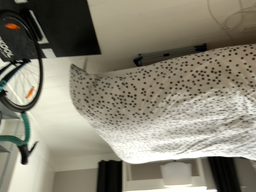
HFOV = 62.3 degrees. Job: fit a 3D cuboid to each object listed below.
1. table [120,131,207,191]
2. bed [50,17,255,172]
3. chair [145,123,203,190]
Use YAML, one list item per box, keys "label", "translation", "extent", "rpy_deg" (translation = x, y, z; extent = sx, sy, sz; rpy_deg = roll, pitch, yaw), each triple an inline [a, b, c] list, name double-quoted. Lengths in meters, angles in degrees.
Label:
- label: "table"
  translation: [0.540, 1.100, 3.490]
  extent: [1.250, 0.790, 0.450]
  rpy_deg: [-9, 145, 10]
- label: "bed"
  translation: [0.680, 0.180, 2.260]
  extent: [2.230, 0.640, 1.700]
  rpy_deg: [-8, 145, 9]
- label: "chair"
  translation: [0.720, 0.980, 3.350]
  extent: [0.640, 0.760, 0.690]
  rpy_deg: [-16, 143, 20]
